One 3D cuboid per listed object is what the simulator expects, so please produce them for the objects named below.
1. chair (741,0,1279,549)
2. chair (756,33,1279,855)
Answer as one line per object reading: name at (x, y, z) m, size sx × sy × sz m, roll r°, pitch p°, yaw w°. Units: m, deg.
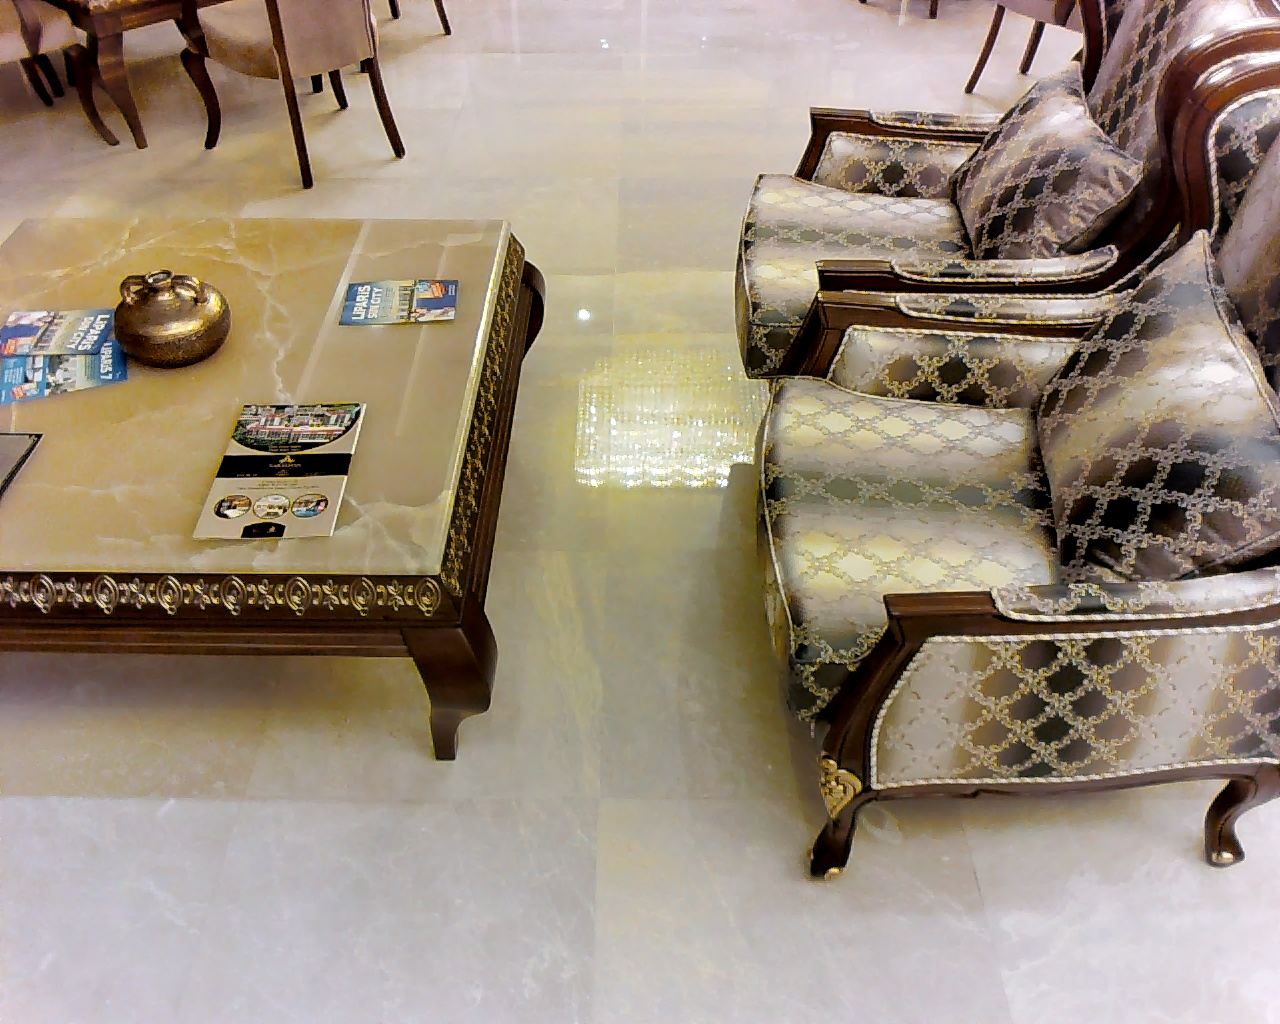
chair at (0.670, -0.540, 2.220) m, size 0.830 × 0.950 × 0.790 m, roll 0°, pitch 41°, yaw 1°
chair at (0.640, -0.120, 1.700) m, size 0.800 × 0.930 × 0.910 m, roll 0°, pitch 41°, yaw 1°
